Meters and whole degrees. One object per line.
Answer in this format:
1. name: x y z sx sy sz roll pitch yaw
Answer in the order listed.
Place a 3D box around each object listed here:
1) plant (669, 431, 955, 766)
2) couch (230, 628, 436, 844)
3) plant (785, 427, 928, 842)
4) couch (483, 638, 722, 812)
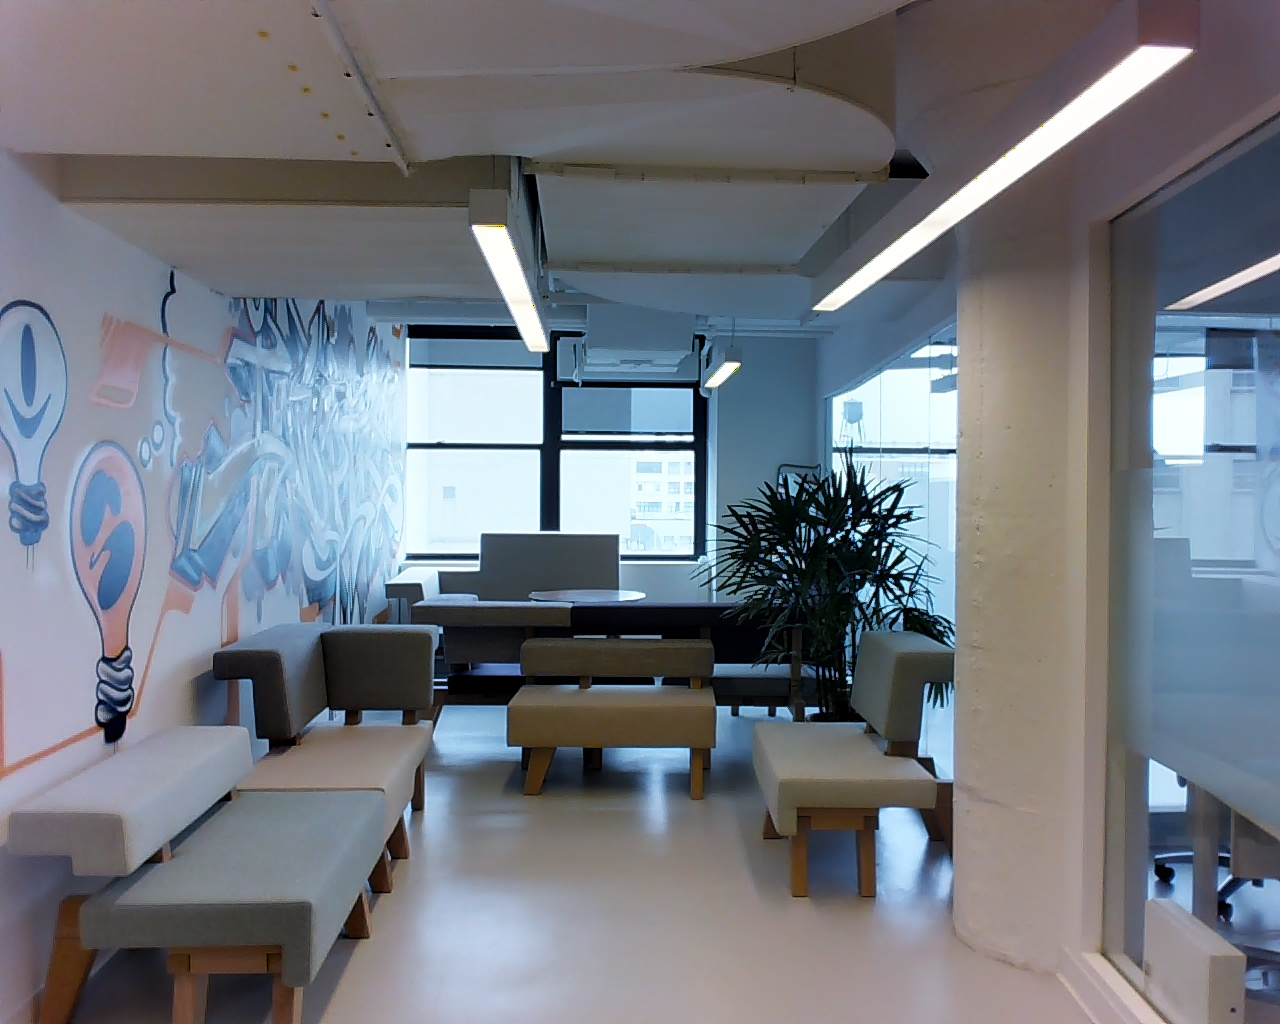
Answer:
1. plant: 0.770 0.380 5.170 1.170 1.460 0.950 1 0 -4
2. couch: -1.350 0.980 4.800 0.800 0.870 0.450 1 0 -3
3. plant: 1.010 0.530 5.180 0.430 1.800 1.050 1 0 -2
4. couch: -0.160 1.060 5.520 1.130 0.700 0.860 1 0 3
